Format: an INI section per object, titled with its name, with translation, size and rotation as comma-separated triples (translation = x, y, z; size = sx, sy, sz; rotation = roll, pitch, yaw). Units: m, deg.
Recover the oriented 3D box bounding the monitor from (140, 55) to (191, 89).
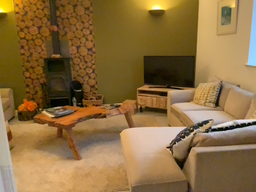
[monitor]
translation = 0.690, -0.470, 4.060
size = 0.960, 0.600, 0.050
rotation = 6, 16, 23
